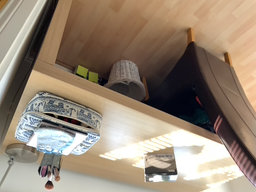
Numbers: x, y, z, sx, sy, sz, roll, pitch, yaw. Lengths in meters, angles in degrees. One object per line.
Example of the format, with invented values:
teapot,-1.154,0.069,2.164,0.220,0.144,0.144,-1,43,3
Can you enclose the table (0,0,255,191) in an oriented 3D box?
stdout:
table,0.060,0.030,1.280,1.240,0.750,0.650,24,133,-26

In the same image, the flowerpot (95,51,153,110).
flowerpot,-0.030,-0.100,1.530,0.320,0.210,0.250,24,133,-26
